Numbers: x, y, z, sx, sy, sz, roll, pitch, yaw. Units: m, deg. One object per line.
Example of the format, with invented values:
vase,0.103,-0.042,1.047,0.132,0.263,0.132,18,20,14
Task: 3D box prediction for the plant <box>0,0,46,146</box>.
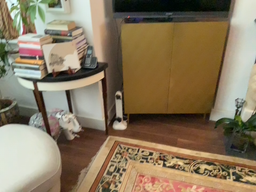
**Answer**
plant,-1.180,-0.270,1.830,0.470,1.400,0.410,7,31,13
